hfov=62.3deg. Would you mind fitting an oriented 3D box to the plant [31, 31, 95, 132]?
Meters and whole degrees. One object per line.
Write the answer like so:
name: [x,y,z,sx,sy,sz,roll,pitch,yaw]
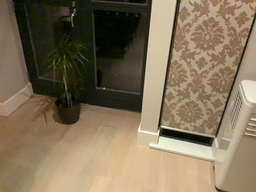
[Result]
plant: [-0.590,-0.140,2.080,0.360,0.850,0.380,14,33,17]
